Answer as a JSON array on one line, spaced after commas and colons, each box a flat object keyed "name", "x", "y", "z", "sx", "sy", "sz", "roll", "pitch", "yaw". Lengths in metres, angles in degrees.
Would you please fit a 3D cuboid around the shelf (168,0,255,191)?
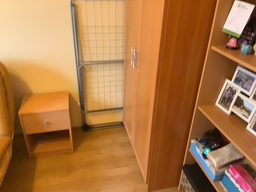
[{"name": "shelf", "x": 0.570, "y": 0.070, "z": 1.020, "sx": 0.330, "sy": 1.740, "sz": 0.610, "roll": -5, "pitch": 30, "yaw": -12}]

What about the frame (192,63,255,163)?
[{"name": "frame", "x": 0.560, "y": 0.050, "z": 1.080, "sx": 0.210, "sy": 0.270, "sz": 0.470, "roll": -5, "pitch": 30, "yaw": -13}]

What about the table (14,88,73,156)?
[{"name": "table", "x": -0.730, "y": 0.230, "z": 1.930, "sx": 0.400, "sy": 0.490, "sz": 0.300, "roll": -5, "pitch": 30, "yaw": -13}]
